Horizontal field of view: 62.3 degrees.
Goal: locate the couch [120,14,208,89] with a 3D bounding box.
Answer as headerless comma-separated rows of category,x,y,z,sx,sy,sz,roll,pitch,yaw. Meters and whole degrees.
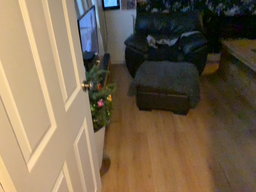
couch,0.560,-0.760,3.370,1.130,0.900,0.940,5,30,12

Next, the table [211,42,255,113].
table,1.690,-0.320,2.880,0.600,0.500,1.210,-2,29,0
